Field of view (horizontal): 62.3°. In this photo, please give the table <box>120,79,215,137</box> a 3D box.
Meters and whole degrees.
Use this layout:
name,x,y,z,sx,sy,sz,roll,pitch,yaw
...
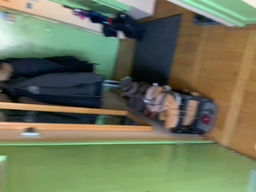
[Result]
name,x,y,z,sx,sy,sz,roll,pitch,yaw
table,0.330,0.080,2.110,0.890,0.390,0.350,21,102,58
